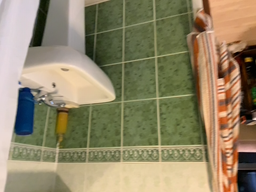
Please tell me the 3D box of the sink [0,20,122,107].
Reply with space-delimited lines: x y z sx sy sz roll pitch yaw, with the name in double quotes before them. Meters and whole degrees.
"sink" -0.310 -0.110 1.060 0.400 0.170 0.510 -6 161 19
